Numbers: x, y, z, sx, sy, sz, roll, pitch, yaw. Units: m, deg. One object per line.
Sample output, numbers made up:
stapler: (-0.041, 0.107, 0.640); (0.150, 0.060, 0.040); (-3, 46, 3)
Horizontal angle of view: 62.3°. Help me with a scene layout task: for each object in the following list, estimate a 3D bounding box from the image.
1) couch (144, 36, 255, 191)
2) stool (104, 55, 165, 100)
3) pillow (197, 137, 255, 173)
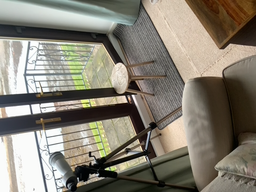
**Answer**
couch: (0.700, 0.180, 0.990); (0.910, 0.750, 0.790); (-10, 86, 55)
stool: (0.060, -0.190, 2.150); (0.310, 0.440, 0.300); (-50, 55, 46)
pillow: (0.560, 0.270, 0.950); (0.400, 0.310, 0.120); (-3, 75, 35)
